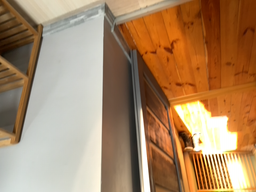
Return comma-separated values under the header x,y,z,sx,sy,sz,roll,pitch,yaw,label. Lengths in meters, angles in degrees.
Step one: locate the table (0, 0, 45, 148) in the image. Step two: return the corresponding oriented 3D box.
x,y,z,sx,sy,sz,roll,pitch,yaw,label
-0.720,-0.150,1.050,0.340,0.750,0.340,-13,148,16,table
